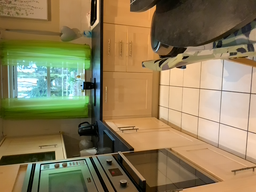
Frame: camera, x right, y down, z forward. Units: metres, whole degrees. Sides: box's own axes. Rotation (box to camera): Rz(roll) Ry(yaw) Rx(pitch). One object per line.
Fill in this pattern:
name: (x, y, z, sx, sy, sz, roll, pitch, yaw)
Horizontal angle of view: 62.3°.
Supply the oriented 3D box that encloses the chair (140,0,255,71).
chair: (0.590, -0.410, 1.240, 0.410, 0.940, 0.490, -167, 77, -69)
